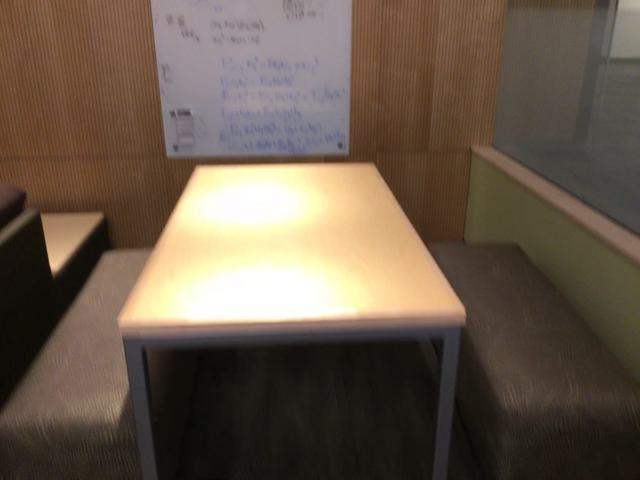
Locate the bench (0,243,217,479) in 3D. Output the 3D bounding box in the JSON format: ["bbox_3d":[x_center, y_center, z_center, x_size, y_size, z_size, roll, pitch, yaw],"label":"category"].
[{"bbox_3d":[-0.640,0.410,1.920,0.530,0.490,1.050,1,17,-13],"label":"bench"}]

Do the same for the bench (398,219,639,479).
[{"bbox_3d":[0.650,0.400,2.010,0.470,0.550,1.060,10,21,-6],"label":"bench"}]
